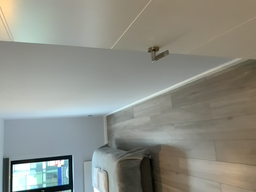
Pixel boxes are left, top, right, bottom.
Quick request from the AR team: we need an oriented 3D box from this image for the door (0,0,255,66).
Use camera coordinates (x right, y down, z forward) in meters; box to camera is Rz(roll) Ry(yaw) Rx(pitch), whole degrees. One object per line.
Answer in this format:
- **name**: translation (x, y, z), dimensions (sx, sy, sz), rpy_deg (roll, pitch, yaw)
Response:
- **door**: translation (0.240, -0.260, 0.680), dimensions (0.800, 1.920, 0.040), rpy_deg (160, 108, -68)
